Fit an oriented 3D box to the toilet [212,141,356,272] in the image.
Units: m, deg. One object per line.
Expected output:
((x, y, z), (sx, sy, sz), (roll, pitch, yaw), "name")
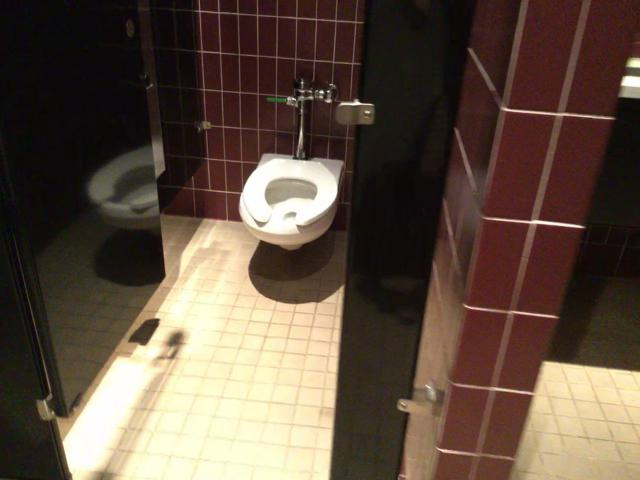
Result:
((-0.110, -0.160, 2.270), (0.400, 0.240, 0.630), (7, 28, 10), "toilet")
